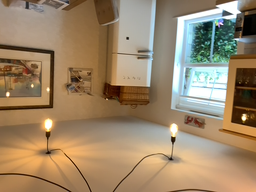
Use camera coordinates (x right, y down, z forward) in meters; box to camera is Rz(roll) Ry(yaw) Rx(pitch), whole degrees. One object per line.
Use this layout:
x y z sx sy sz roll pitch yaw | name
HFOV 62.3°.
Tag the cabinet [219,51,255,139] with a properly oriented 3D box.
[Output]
1.400 0.010 1.850 0.320 0.790 1.030 -2 -172 -37 | cabinet
